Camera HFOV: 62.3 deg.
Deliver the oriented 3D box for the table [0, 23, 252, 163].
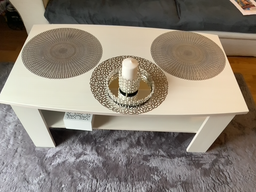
[{"bbox_3d":[-0.030,-0.010,1.280,1.110,0.490,0.640,2,52,-3],"label":"table"}]
